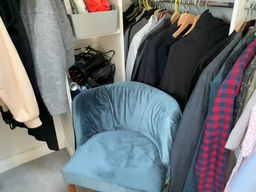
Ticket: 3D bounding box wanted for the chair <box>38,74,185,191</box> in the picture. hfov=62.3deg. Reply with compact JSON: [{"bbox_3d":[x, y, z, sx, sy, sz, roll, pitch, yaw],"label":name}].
[{"bbox_3d":[-0.020,0.310,1.170,0.550,0.660,0.520,8,30,15],"label":"chair"}]
